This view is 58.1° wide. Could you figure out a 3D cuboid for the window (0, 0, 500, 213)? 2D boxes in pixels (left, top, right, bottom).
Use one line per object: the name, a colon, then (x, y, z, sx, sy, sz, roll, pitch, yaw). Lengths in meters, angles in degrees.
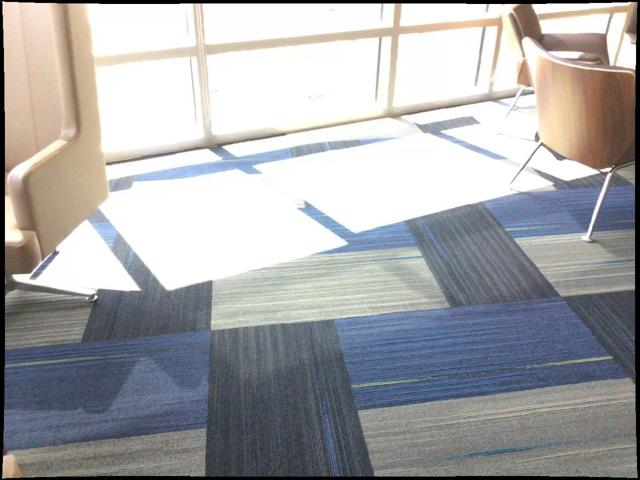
window: (-0.588, -1.193, 3.480, 4.033, 1.343, 0.450, -17, 35, -24)
